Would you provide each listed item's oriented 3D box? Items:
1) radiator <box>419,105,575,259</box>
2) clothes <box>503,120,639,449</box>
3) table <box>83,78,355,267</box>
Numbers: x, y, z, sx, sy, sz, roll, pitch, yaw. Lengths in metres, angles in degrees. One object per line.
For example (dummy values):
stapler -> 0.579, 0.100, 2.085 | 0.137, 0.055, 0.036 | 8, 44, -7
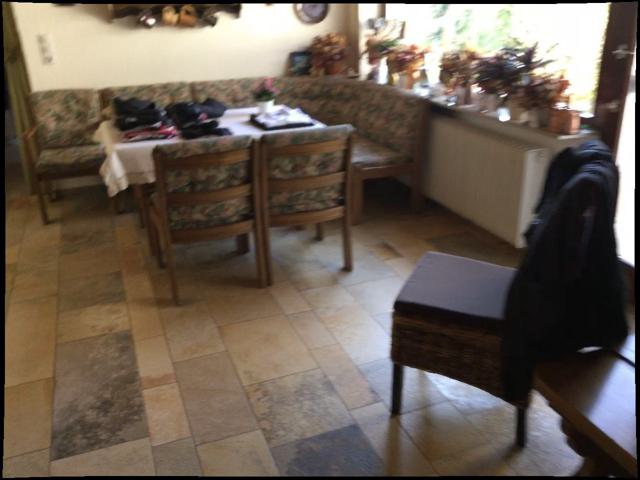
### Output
radiator -> 1.059, -0.420, 3.700 | 0.260, 0.661, 1.120 | -11, 26, -20
clothes -> 0.939, 0.110, 2.000 | 0.440, 0.891, 0.640 | 8, 26, 20
table -> -0.669, -0.531, 3.850 | 1.529, 0.821, 0.970 | -11, 26, -20
